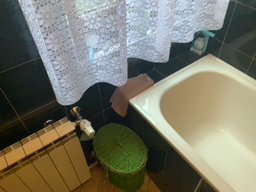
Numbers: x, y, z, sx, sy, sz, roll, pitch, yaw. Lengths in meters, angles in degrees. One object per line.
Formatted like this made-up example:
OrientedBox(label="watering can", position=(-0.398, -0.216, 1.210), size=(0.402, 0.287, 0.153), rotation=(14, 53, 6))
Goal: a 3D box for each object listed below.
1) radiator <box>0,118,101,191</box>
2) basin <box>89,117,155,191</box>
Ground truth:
OrientedBox(label="radiator", position=(-0.560, 0.520, 1.120), size=(0.780, 0.630, 0.130), rotation=(-25, 51, -21))
OrientedBox(label="basin", position=(-0.040, 0.410, 1.380), size=(0.260, 0.350, 0.320), rotation=(-26, 51, -21))
